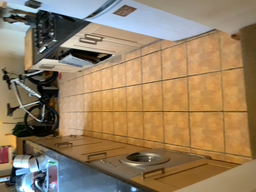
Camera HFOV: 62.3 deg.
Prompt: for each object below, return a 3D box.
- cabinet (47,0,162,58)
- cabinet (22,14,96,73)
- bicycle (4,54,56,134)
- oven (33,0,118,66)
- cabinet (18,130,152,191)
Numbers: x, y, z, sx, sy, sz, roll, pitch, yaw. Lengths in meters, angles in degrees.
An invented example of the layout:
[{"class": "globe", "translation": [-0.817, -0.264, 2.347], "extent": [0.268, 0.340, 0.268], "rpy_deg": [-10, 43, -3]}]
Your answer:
[{"class": "cabinet", "translation": [-0.260, -0.820, 2.210], "extent": [0.790, 0.900, 0.600], "rpy_deg": [-6, 85, 53]}, {"class": "cabinet", "translation": [-1.090, -0.740, 3.310], "extent": [0.760, 0.890, 0.600], "rpy_deg": [-6, 85, 53]}, {"class": "bicycle", "translation": [-2.130, -0.040, 4.640], "extent": [0.310, 0.980, 1.600], "rpy_deg": [-2, 88, 53]}, {"class": "oven", "translation": [-0.680, -0.780, 2.760], "extent": [0.610, 0.900, 0.600], "rpy_deg": [-6, 85, 53]}, {"class": "cabinet", "translation": [-0.710, 0.860, 2.740], "extent": [1.920, 0.940, 0.610], "rpy_deg": [-6, 85, 53]}]
